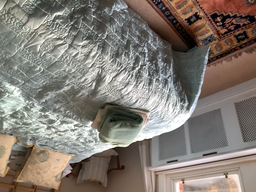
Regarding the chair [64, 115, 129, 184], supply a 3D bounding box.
[{"bbox_3d":[-0.420,0.800,3.070,0.480,0.730,0.690,-26,137,38],"label":"chair"}]
